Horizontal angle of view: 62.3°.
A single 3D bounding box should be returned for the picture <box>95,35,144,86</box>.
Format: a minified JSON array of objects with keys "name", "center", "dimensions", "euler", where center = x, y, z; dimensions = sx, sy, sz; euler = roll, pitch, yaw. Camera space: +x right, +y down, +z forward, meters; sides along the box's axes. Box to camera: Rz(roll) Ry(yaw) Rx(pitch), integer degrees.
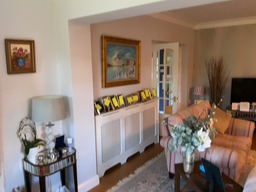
[{"name":"picture","center":[-0.080,-0.570,3.410],"dimensions":[0.050,0.710,1.090],"euler":[7,12,40]}]
